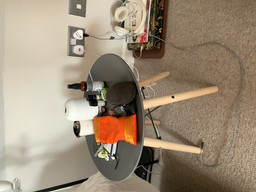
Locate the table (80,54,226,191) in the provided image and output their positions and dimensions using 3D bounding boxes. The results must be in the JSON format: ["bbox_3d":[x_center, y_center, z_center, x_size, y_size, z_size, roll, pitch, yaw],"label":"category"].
[{"bbox_3d":[0.080,0.060,0.930,0.420,0.420,0.430,19,107,53],"label":"table"}]
